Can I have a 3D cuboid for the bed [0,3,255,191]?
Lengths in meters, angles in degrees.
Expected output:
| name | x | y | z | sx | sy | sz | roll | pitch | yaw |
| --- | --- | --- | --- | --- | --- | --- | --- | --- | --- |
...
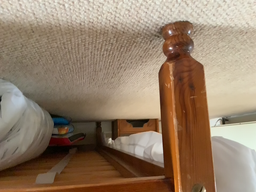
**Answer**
| name | x | y | z | sx | sy | sz | roll | pitch | yaw |
| --- | --- | --- | --- | --- | --- | --- | --- | --- | --- |
| bed | -0.870 | 0.350 | 1.100 | 1.740 | 0.550 | 2.100 | 0 | 170 | -12 |
